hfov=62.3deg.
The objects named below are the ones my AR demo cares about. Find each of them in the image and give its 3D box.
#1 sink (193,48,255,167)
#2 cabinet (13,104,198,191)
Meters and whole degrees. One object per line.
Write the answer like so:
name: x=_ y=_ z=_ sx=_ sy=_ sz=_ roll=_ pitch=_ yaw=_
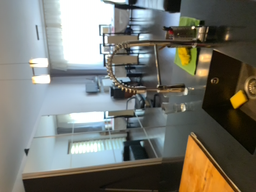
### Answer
sink: x=0.520 y=0.010 z=0.950 sx=0.450 sy=0.200 sz=0.350 roll=-116 pitch=25 yaw=-62
cabinet: x=-0.360 y=0.840 z=3.610 sx=1.540 sy=2.440 sz=0.640 roll=-115 pitch=25 yaw=-62
